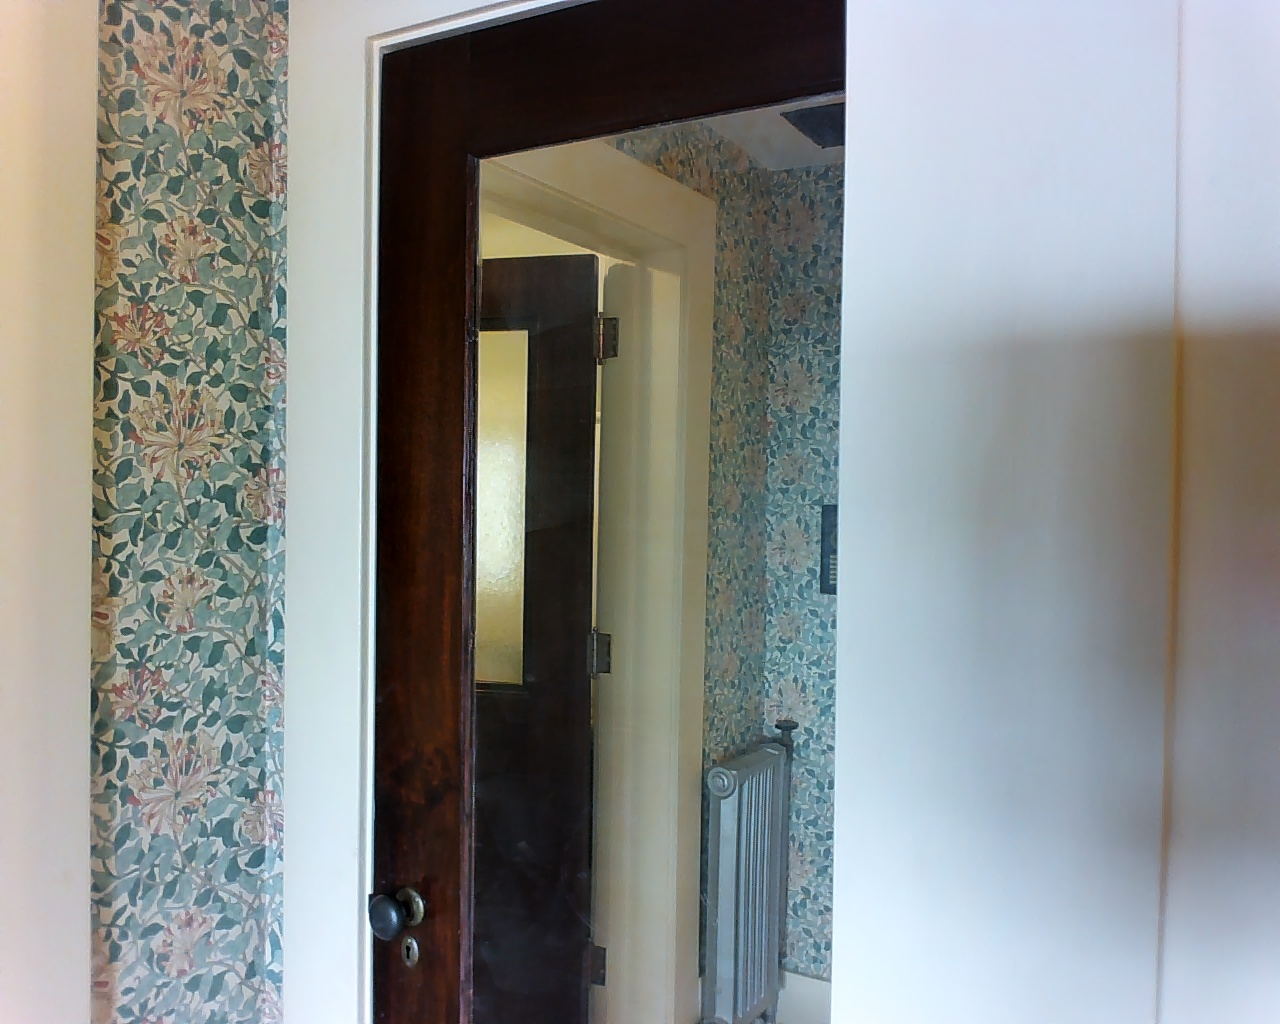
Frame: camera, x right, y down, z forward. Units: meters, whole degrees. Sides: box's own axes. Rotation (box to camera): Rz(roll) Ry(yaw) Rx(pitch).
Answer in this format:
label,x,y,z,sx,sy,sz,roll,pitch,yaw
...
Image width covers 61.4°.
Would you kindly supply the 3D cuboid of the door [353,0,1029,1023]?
label,x,y,z,sx,sy,sz,roll,pitch,yaw
door,0.000,0.490,1.230,0.790,2.080,0.110,1,1,31
